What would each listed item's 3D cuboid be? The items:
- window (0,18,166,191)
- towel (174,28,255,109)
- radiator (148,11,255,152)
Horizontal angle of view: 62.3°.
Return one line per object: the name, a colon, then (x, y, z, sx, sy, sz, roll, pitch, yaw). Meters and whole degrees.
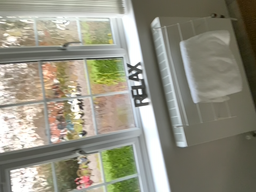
window: (-0.470, 0.150, 1.360, 0.110, 1.280, 1.370, 145, 116, -67)
towel: (0.520, -0.170, 1.250, 0.140, 0.400, 0.420, 150, 111, -67)
radiator: (0.530, -0.130, 1.410, 0.140, 0.640, 0.850, 150, 111, -67)
